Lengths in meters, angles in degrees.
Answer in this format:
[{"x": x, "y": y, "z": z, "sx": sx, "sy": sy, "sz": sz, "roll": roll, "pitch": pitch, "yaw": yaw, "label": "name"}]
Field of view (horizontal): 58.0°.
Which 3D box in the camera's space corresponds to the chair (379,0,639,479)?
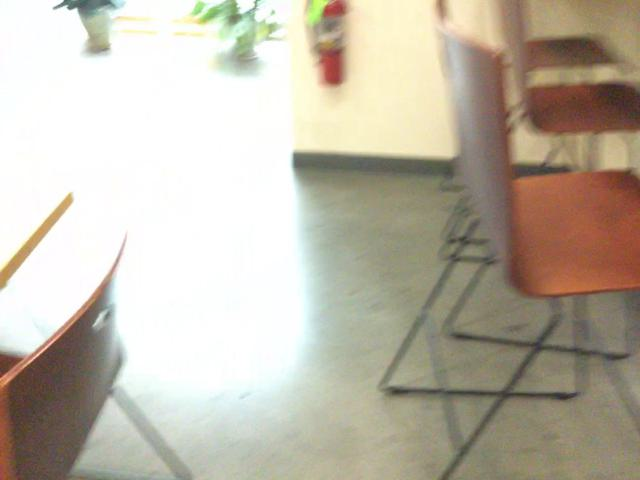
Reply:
[{"x": 0.430, "y": 0.060, "z": 1.120, "sx": 0.520, "sy": 0.990, "sz": 0.470, "roll": 5, "pitch": 27, "yaw": 2, "label": "chair"}]
